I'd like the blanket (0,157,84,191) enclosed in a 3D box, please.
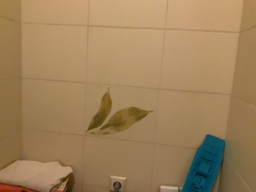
[{"bbox_3d":[-0.360,0.420,0.890,0.260,0.180,0.300,5,9,6],"label":"blanket"}]
